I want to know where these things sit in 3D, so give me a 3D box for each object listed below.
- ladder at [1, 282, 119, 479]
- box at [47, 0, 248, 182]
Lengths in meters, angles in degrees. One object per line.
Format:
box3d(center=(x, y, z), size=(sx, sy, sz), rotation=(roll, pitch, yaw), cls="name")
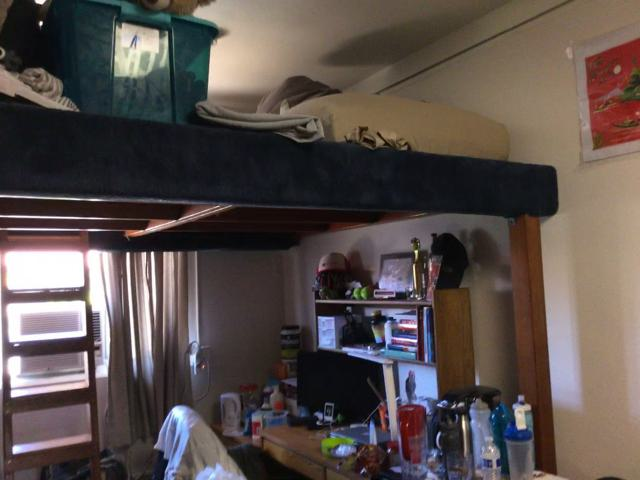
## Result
box3d(center=(-1.290, 0.930, 2.870), size=(0.500, 1.420, 0.300), rotation=(1, -6, -31), cls="ladder")
box3d(center=(-0.580, -0.460, 1.840), size=(0.450, 0.400, 0.690), rotation=(1, -6, -31), cls="box")
